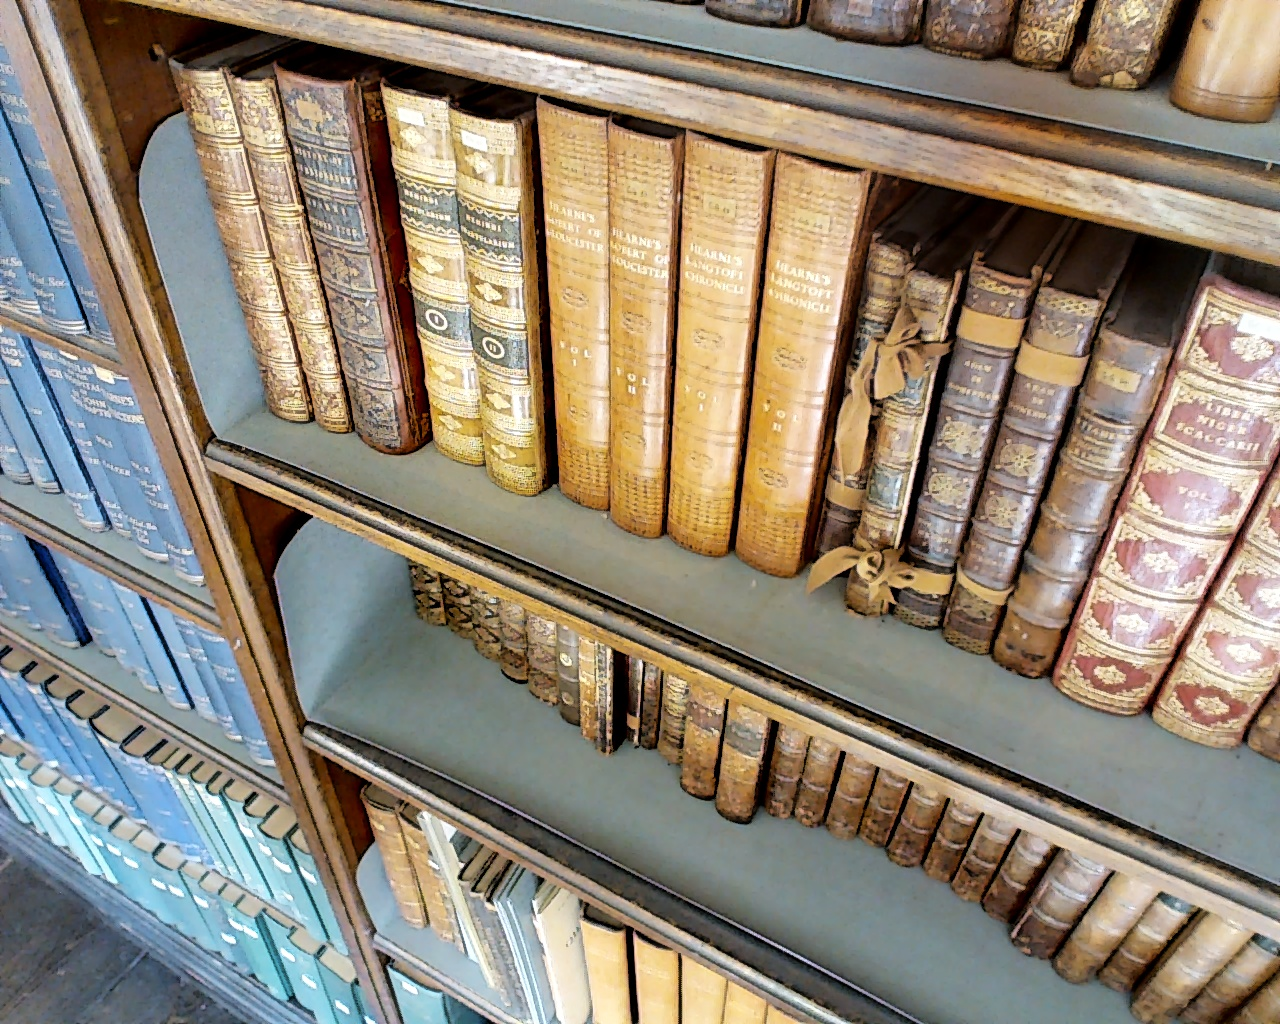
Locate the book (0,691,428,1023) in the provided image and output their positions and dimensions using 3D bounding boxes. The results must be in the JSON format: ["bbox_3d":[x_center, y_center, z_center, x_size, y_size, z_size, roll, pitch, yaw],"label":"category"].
[{"bbox_3d":[-0.660,0.520,1.520,0.730,0.240,0.160,19,45,21],"label":"book"}]

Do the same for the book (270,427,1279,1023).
[{"bbox_3d":[0.090,0.160,0.750,0.760,0.190,0.120,20,45,21],"label":"book"}]
